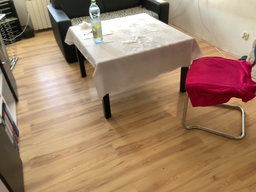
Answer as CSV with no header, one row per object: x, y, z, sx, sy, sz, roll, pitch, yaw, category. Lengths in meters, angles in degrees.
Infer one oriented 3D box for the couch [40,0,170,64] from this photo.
-0.340,-1.250,3.090,1.610,0.910,0.940,-17,40,-19,couch
